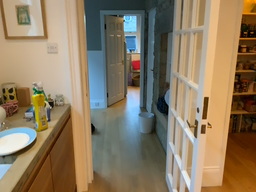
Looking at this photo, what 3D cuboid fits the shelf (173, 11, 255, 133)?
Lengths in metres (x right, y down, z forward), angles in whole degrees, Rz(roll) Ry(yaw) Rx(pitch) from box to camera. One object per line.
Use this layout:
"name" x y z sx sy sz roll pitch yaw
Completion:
"shelf" 1.480 -0.340 3.290 1.410 1.790 0.350 -1 16 -3

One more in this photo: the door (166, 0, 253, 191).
"door" 0.460 0.050 1.470 0.140 2.180 0.830 -1 16 -2
